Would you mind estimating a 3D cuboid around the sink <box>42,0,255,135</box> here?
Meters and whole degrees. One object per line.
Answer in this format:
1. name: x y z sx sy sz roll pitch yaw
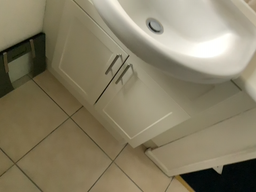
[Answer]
1. sink: 0.120 -0.260 0.620 0.510 0.170 0.500 45 54 0
